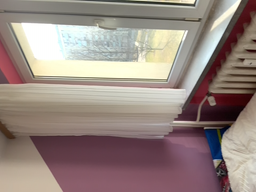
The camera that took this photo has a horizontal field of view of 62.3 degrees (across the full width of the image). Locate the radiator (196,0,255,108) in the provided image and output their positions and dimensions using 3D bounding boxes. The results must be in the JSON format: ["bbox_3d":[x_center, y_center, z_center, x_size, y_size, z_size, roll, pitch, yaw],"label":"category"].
[{"bbox_3d":[0.980,-0.280,1.560,0.880,0.630,0.260,97,173,-51],"label":"radiator"}]
